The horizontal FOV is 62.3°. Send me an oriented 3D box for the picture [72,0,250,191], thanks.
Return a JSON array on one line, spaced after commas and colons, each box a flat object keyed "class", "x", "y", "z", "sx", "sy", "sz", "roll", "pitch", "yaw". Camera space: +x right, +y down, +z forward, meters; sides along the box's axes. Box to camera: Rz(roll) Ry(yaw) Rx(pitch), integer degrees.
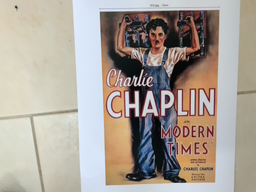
[{"class": "picture", "x": 0.040, "y": 0.020, "z": 0.270, "sx": 0.210, "sy": 0.010, "sz": 0.300, "roll": 0, "pitch": 97, "yaw": -2}]
